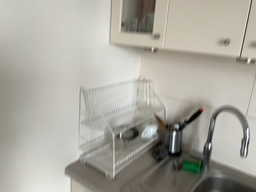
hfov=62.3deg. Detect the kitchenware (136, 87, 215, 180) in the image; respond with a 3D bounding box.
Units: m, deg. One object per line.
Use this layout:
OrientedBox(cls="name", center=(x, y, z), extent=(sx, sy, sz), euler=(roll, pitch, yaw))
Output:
OrientedBox(cls="kitchenware", center=(0.250, 0.200, 1.230), extent=(0.390, 0.420, 0.090), euler=(16, 21, 35))
